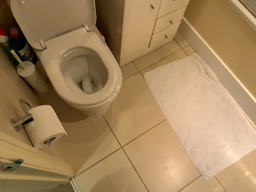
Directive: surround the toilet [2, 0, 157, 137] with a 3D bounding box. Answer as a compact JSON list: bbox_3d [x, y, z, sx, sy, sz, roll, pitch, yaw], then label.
[{"bbox_3d":[-0.280,-0.250,1.150,0.410,0.810,0.670,-28,73,-15],"label":"toilet"}]
